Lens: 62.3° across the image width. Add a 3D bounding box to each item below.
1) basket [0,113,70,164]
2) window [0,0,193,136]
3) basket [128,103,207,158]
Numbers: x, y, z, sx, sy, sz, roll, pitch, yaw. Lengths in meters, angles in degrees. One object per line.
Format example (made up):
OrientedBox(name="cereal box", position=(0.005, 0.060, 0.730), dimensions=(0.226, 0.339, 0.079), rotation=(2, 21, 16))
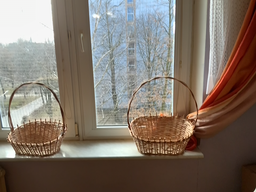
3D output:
OrientedBox(name="basket", position=(-0.700, 0.300, 1.560), dimensions=(0.470, 0.250, 0.290), rotation=(-2, 13, -4))
OrientedBox(name="window", position=(-0.710, -0.490, 1.550), dimensions=(2.310, 1.600, 0.140), rotation=(-1, 13, 0))
OrientedBox(name="basket", position=(0.250, 0.230, 1.500), dimensions=(0.500, 0.300, 0.260), rotation=(-1, 13, 0))
